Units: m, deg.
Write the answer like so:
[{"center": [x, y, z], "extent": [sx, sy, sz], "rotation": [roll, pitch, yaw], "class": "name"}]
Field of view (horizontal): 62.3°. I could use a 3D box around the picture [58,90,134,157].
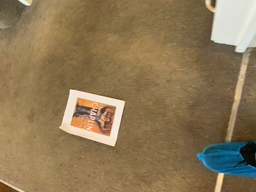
[{"center": [-0.160, 0.120, 1.000], "extent": [0.340, 0.010, 0.230], "rotation": [13, 87, 18], "class": "picture"}]
